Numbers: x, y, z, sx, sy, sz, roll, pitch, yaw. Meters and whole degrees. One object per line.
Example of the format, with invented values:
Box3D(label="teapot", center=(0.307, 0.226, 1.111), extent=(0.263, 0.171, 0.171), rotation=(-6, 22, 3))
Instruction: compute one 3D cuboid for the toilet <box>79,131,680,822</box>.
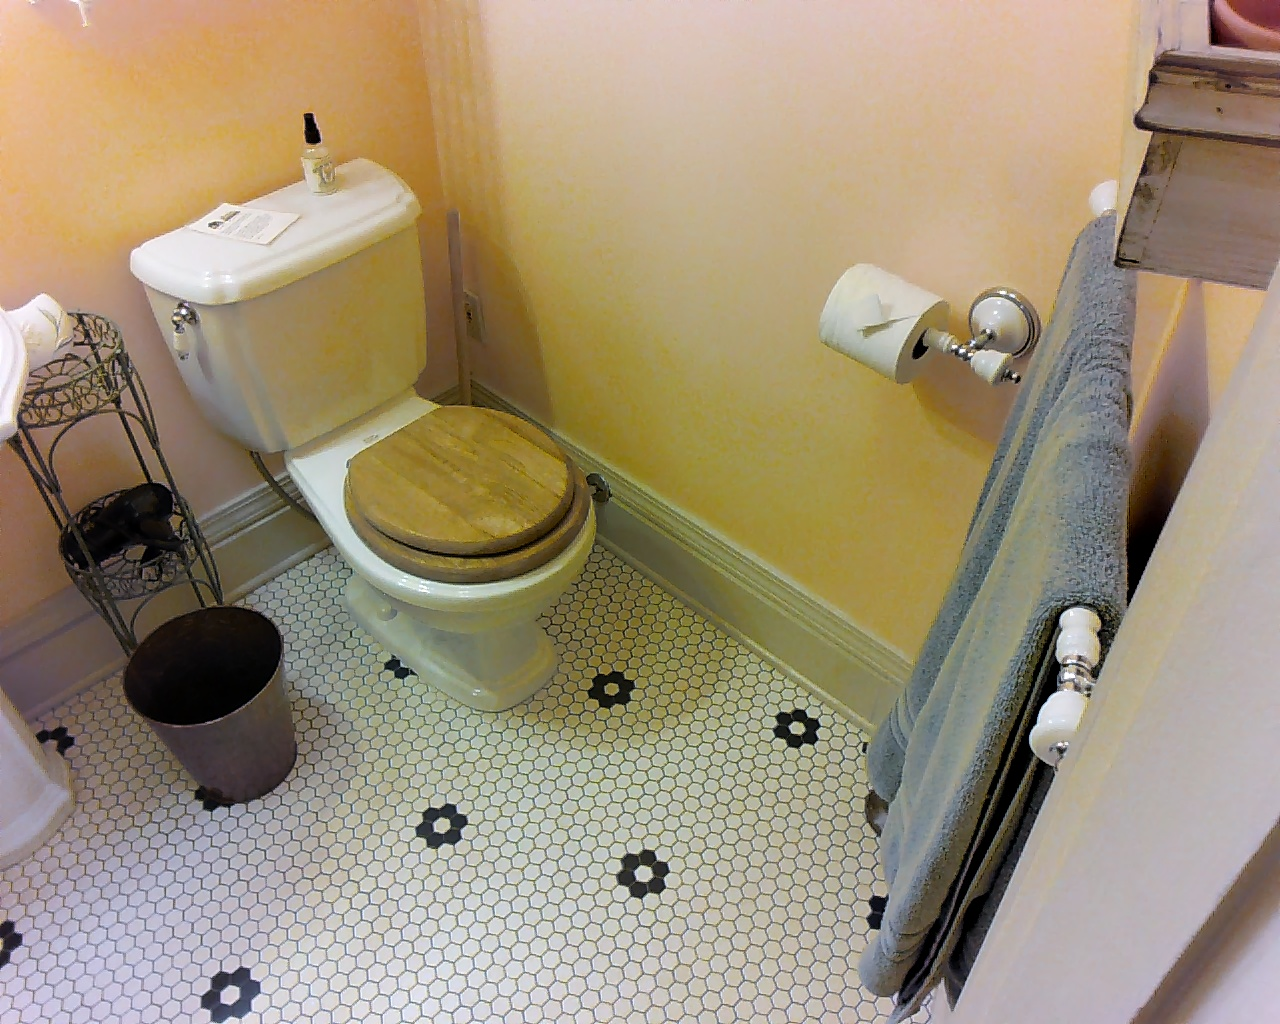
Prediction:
Box3D(label="toilet", center=(-0.390, -0.080, 1.830), extent=(0.770, 0.780, 0.500), rotation=(32, 52, 31))
